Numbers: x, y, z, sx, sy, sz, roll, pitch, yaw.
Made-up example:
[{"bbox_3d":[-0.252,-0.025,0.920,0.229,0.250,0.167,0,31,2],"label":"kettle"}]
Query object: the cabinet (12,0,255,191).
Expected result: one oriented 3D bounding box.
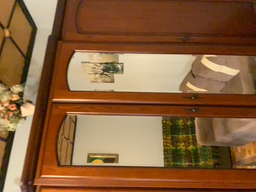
[{"bbox_3d":[0.500,0.200,1.630,0.720,2.190,1.970,93,179,-68],"label":"cabinet"}]
